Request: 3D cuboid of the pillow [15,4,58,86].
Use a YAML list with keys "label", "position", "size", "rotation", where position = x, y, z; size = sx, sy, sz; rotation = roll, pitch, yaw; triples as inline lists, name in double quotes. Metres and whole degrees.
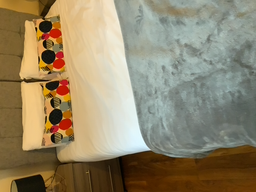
- label: "pillow"
  position: [-0.890, -0.480, 2.080]
  size: [0.180, 0.340, 0.680]
  rotation: [-14, 74, 22]
